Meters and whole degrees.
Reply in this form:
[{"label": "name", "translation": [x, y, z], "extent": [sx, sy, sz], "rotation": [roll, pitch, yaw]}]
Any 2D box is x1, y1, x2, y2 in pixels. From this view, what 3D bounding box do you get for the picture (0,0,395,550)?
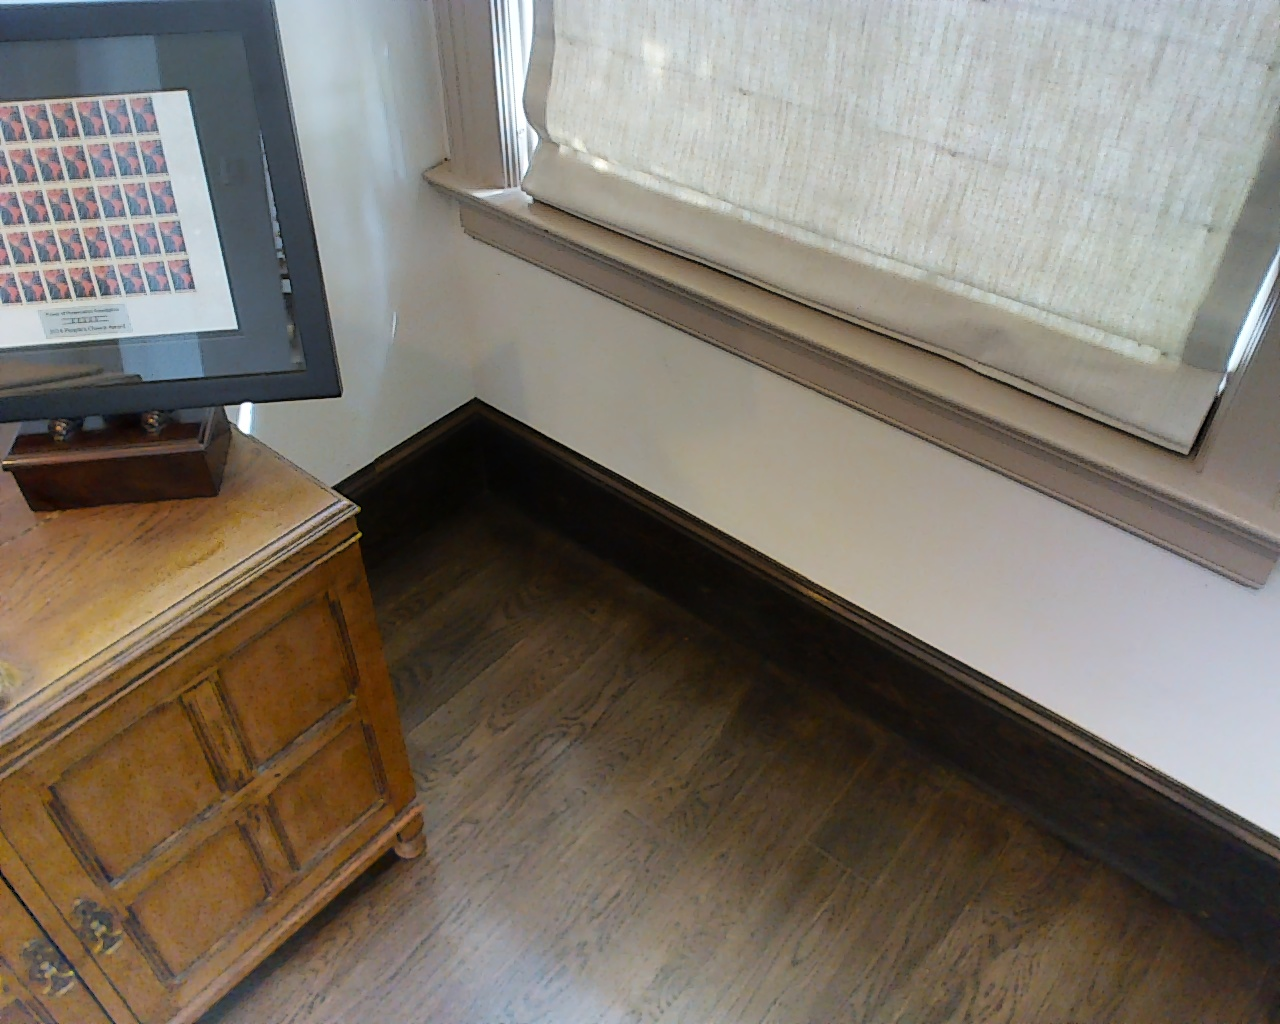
[{"label": "picture", "translation": [-0.580, -0.230, 1.100], "extent": [0.510, 0.520, 0.090], "rotation": [-11, 34, 0]}]
